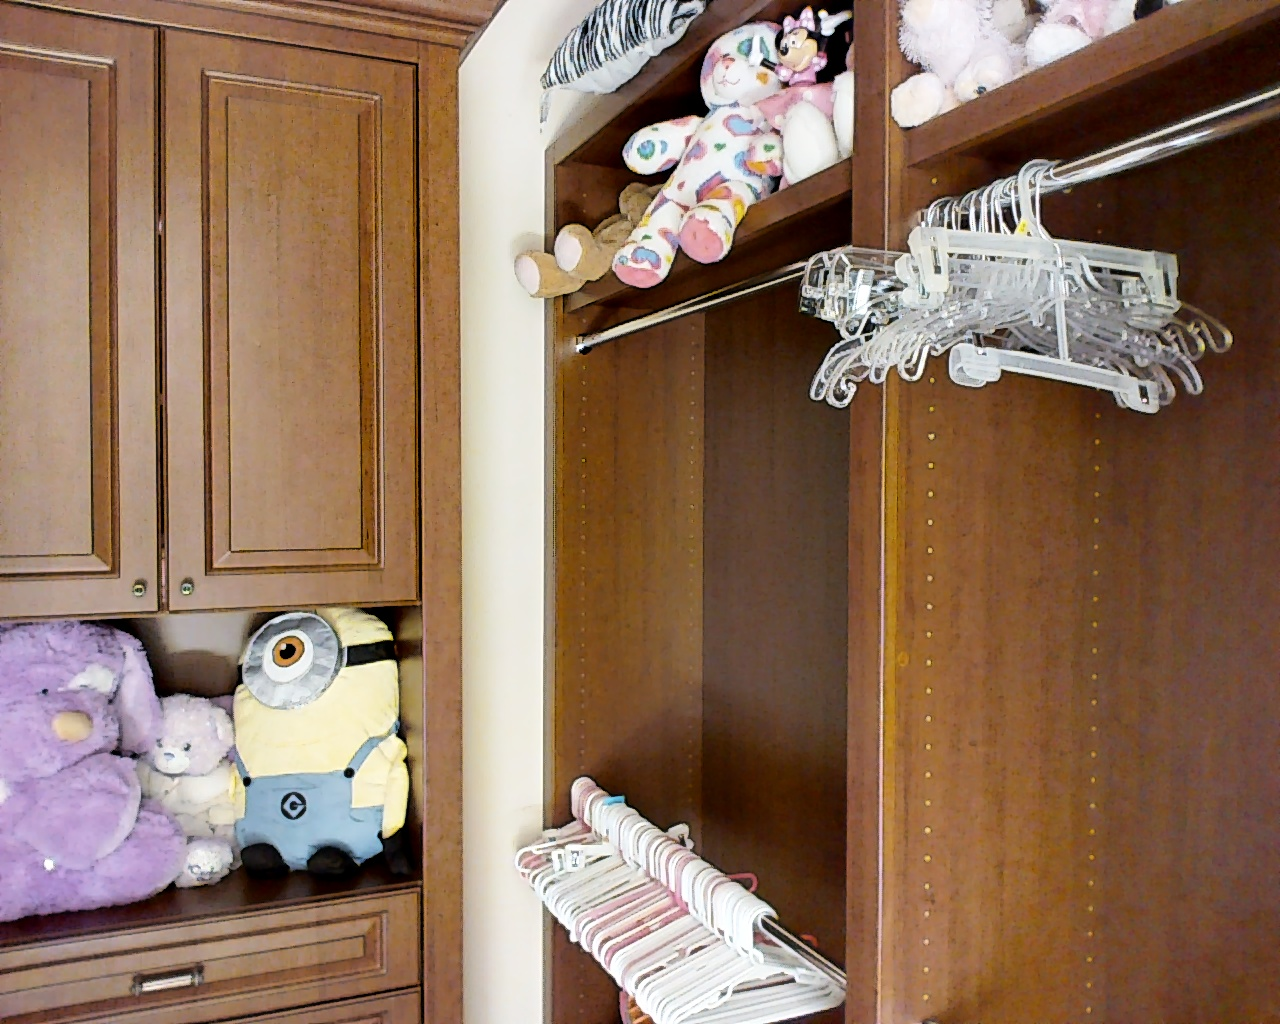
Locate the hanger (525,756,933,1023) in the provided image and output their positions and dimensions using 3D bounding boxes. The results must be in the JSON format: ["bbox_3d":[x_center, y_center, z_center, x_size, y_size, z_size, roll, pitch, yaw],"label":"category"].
[{"bbox_3d":[0.100,0.770,1.920,0.370,0.440,0.840,0,1,-24],"label":"hanger"}]

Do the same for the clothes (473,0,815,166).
[{"bbox_3d":[-0.010,-0.790,1.770,0.550,0.270,0.240,2,1,43],"label":"clothes"}]

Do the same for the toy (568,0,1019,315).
[{"bbox_3d":[0.190,-0.500,1.460,0.550,0.370,0.270,2,1,43],"label":"toy"}]

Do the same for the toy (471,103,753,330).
[{"bbox_3d":[-0.050,-0.550,2.100,0.340,0.300,0.440,2,1,43],"label":"toy"}]

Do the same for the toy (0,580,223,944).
[{"bbox_3d":[-0.890,0.350,1.660,0.430,0.440,0.470,0,1,-24],"label":"toy"}]

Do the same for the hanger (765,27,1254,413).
[{"bbox_3d":[0.380,-0.270,1.120,0.430,0.300,0.240,0,1,-24],"label":"hanger"}]

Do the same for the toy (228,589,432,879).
[{"bbox_3d":[-0.540,0.350,1.830,0.290,0.400,0.350,0,1,-24],"label":"toy"}]
